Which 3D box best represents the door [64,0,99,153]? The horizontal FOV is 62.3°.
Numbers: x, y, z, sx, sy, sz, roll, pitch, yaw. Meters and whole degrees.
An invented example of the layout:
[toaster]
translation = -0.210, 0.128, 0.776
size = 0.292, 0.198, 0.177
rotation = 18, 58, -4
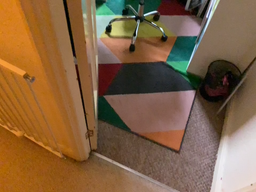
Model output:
[door]
translation = -0.170, -0.420, 0.890
size = 0.050, 1.660, 0.760
rotation = 0, 56, -6
